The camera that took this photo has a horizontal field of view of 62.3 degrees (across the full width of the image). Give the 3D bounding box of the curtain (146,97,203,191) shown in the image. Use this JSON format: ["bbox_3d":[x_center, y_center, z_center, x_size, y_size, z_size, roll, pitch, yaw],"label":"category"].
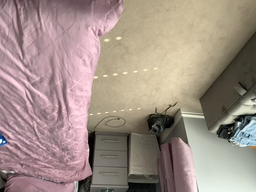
[{"bbox_3d":[0.410,1.060,1.710,0.240,2.160,0.570,5,143,-9],"label":"curtain"}]
